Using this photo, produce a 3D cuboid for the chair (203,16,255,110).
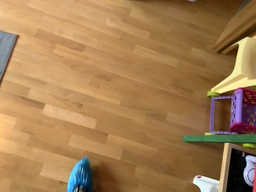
[{"bbox_3d":[0.740,-0.180,1.190,0.310,0.550,0.350,18,73,-7],"label":"chair"}]
